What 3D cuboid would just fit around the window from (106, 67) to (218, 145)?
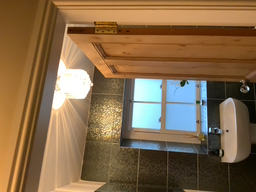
[{"bbox_3d":[0.430,0.130,2.790,0.350,1.310,0.910,73,-159,-74],"label":"window"}]
